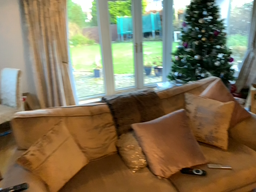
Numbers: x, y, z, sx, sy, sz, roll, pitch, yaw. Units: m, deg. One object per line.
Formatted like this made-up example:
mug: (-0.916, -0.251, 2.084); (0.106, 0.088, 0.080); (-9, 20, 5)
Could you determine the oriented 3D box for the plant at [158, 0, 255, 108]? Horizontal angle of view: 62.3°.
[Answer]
plant: (1.430, -1.120, 3.980); (1.320, 2.200, 1.080); (-14, 22, -27)
